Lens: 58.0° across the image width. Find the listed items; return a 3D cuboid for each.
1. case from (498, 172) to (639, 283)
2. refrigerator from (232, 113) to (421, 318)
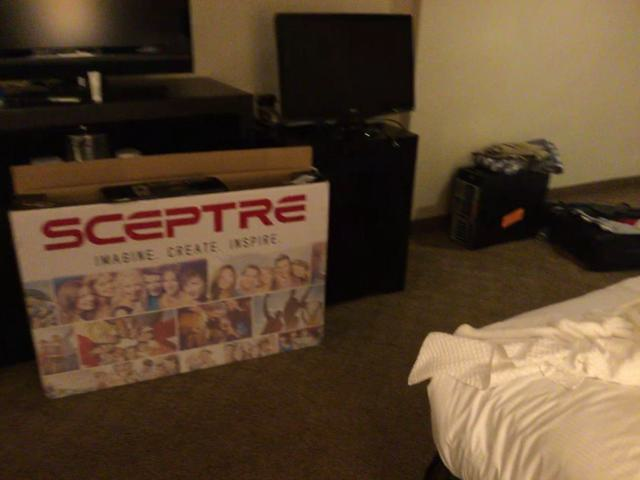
[{"bbox_3d":[1.700,-0.120,3.290,0.920,0.250,0.930,-7,23,-20],"label":"case"},{"bbox_3d":[0.000,-0.160,2.710,0.620,0.730,0.640,-9,23,-25],"label":"refrigerator"}]
